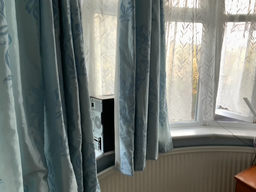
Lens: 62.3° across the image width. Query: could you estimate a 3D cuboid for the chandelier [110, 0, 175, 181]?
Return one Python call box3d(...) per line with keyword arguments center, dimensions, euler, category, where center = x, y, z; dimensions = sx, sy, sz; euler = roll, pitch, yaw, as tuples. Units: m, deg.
box3d(center=(0.090, -0.270, 1.380), dimensions=(0.380, 1.590, 0.170), euler=(-6, 13, -33), category="chandelier")
